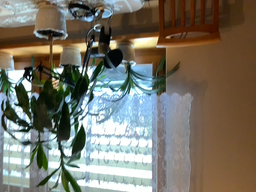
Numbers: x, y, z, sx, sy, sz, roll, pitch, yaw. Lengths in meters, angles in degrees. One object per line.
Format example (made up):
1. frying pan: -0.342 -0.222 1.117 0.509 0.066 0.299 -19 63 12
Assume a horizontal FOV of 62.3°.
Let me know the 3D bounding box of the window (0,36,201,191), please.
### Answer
1. window: -0.570 0.450 1.740 2.200 1.670 0.210 0 178 17
